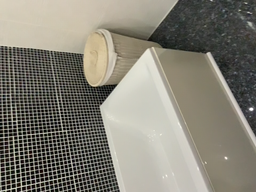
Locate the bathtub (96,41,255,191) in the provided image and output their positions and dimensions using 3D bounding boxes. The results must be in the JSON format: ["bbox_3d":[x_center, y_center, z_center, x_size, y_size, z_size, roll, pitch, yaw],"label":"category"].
[{"bbox_3d":[0.380,0.610,1.230,0.760,0.510,1.680,-48,53,47],"label":"bathtub"}]

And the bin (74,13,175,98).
[{"bbox_3d":[-0.050,-0.290,1.750,0.450,0.590,0.440,-46,54,47],"label":"bin"}]
